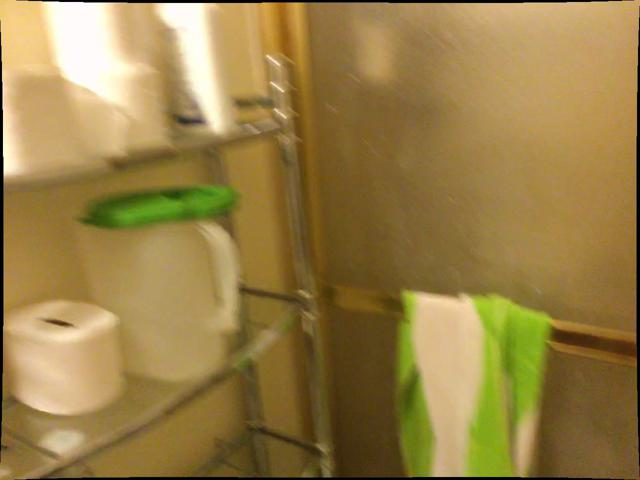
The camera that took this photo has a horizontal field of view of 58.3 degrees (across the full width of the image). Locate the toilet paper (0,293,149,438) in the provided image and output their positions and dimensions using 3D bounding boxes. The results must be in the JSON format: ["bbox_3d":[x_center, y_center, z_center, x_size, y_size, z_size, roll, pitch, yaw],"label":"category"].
[{"bbox_3d":[-0.350,0.160,0.780,0.170,0.120,0.130,4,17,33],"label":"toilet paper"}]

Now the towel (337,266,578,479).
[{"bbox_3d":[0.290,0.560,1.150,0.370,0.971,0.210,4,17,33],"label":"towel"}]

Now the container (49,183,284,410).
[{"bbox_3d":[-0.210,0.060,0.820,0.220,0.250,0.190,4,17,33],"label":"container"}]

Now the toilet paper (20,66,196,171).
[{"bbox_3d":[-0.290,-0.170,0.800,0.140,0.120,0.160,4,17,33],"label":"toilet paper"}]
